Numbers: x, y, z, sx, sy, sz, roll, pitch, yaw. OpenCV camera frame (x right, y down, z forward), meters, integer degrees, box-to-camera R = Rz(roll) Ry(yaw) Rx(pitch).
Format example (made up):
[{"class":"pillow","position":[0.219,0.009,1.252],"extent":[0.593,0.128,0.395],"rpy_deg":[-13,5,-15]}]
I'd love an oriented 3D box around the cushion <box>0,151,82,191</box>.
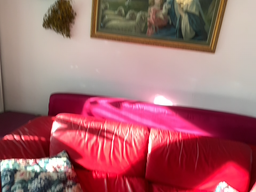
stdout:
[{"class":"cushion","position":[-0.620,0.590,1.430],"extent":[0.480,0.090,0.490],"rpy_deg":[-4,22,-30]}]
